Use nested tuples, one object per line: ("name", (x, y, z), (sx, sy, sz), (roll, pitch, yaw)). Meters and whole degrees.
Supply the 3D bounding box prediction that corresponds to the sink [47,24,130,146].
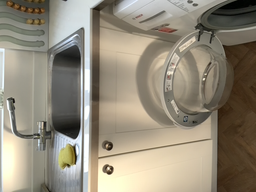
("sink", (-0.230, -0.050, 1.070), (0.520, 0.200, 0.460), (4, 93, 54))
